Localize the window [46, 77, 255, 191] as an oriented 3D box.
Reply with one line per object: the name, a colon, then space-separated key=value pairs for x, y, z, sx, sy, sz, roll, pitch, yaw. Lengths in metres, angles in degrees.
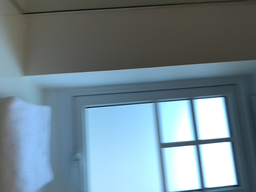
window: x=0.090 y=0.220 z=0.890 sx=0.060 sy=0.820 sz=0.540 roll=104 pitch=-19 yaw=-78
